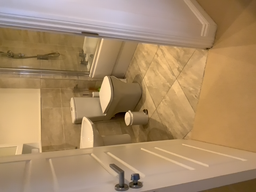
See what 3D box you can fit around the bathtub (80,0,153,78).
[{"bbox_3d":[-0.220,-1.010,2.840,1.450,0.520,0.710,117,145,-45],"label":"bathtub"}]
